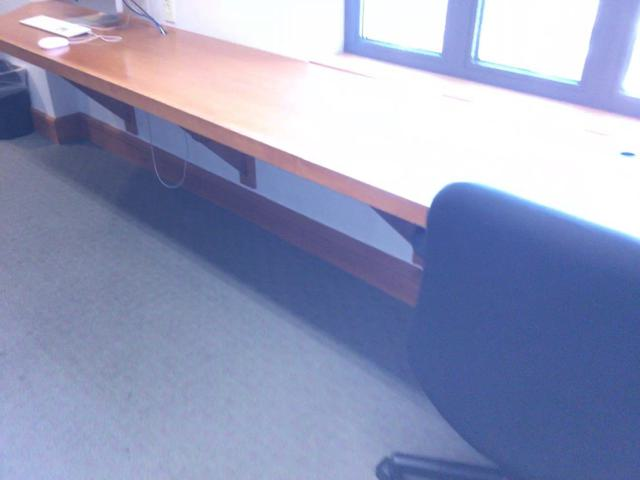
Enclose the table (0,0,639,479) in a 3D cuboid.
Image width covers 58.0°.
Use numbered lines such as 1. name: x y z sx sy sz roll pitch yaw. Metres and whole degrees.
1. table: 0.730 0.060 1.130 6.100 1.020 0.920 30 40 32
